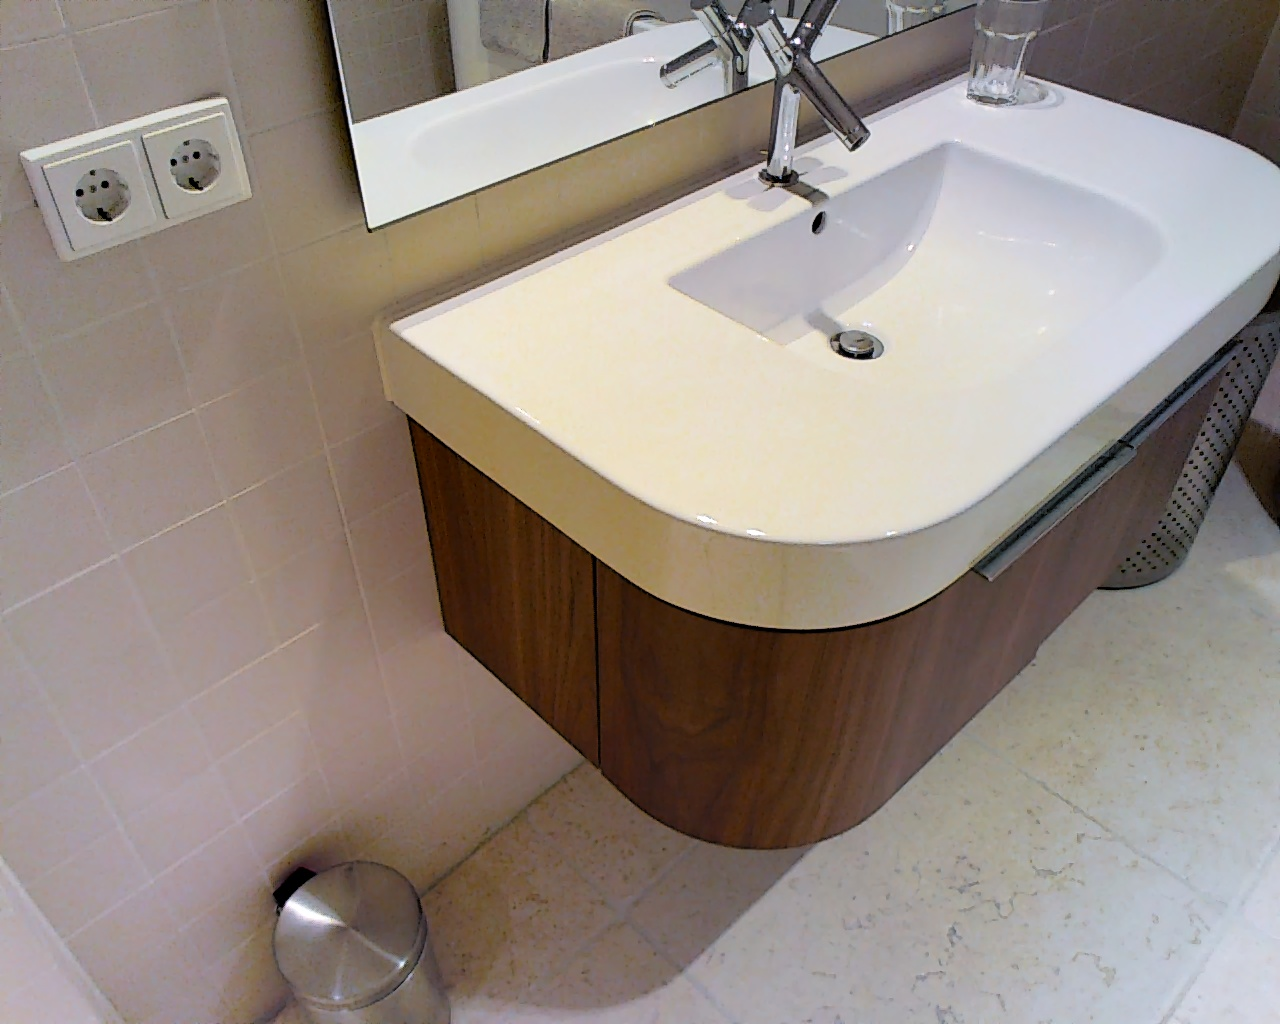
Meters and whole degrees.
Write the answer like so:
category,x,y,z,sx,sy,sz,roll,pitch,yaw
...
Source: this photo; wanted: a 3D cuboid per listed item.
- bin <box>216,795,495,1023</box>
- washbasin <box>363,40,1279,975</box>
category,x,y,z,sx,sy,sz,roll,pitch,yaw
bin,-0.340,0.550,1.320,0.200,0.250,0.230,-33,51,-31
washbasin,0.300,-0.110,1.280,1.020,0.520,0.540,-33,51,-31
